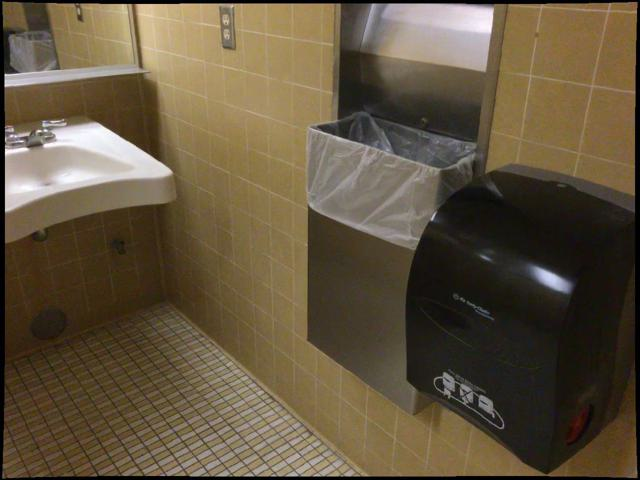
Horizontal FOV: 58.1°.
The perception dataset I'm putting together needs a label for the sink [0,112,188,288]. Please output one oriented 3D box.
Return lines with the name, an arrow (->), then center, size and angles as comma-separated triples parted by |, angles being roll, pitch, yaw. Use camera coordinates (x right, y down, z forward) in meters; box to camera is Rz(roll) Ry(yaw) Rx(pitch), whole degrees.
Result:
sink -> -0.828, -0.170, 1.750 | 0.549, 0.220, 0.719 | -18, 33, -37
